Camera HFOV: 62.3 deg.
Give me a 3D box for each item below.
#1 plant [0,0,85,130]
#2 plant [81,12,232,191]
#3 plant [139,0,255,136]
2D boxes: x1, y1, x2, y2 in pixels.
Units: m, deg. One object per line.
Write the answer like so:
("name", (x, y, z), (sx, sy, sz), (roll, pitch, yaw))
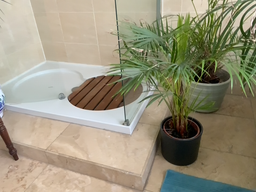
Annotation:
("plant", (-0.900, -0.710, 1.380), (0.690, 1.640, 0.700), (11, 34, 23))
("plant", (0.210, 0.040, 1.130), (0.480, 0.810, 0.690), (9, 33, 21))
("plant", (0.530, -0.290, 1.540), (0.720, 0.850, 0.560), (9, 33, 21))
